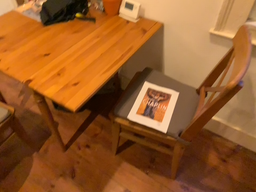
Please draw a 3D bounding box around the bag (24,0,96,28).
[{"bbox_3d":[-0.400,-0.570,1.280,0.260,0.110,0.310,26,54,21],"label":"bag"}]
